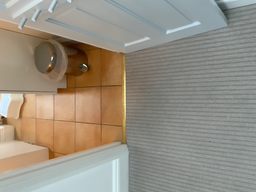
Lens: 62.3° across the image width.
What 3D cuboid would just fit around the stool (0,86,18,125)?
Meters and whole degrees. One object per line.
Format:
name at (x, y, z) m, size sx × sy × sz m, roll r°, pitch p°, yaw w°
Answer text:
stool at (-1.400, 0.100, 2.370) m, size 0.250 × 0.130 × 0.350 m, roll 36°, pitch 109°, yaw 28°
